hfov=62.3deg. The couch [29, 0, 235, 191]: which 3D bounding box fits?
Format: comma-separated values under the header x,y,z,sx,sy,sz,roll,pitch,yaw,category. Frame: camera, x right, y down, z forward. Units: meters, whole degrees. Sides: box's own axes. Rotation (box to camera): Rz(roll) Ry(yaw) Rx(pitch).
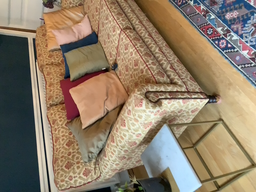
x,y,z,sx,sy,sz,roll,pitch,yaw,category
-0.340,-0.410,2.000,1.070,0.890,2.240,-61,40,39,couch
